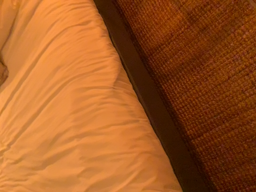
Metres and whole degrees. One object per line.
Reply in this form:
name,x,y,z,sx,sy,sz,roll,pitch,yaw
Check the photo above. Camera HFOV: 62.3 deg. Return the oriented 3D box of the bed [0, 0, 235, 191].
bed,-0.440,0.330,1.260,1.550,0.480,2.060,-37,69,34
